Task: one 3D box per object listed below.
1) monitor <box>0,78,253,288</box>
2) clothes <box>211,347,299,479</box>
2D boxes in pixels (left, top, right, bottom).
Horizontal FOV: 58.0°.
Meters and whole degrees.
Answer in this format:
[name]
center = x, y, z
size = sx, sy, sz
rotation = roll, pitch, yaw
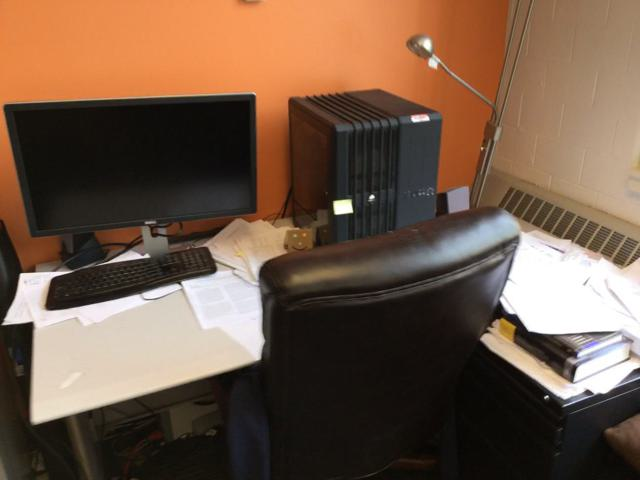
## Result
[monitor]
center = -0.520, -0.180, 1.630
size = 0.600, 0.480, 0.200
rotation = -10, 25, -22
[clothes]
center = -0.150, 0.600, 1.420
size = 0.140, 0.640, 0.190
rotation = -10, 25, -22
